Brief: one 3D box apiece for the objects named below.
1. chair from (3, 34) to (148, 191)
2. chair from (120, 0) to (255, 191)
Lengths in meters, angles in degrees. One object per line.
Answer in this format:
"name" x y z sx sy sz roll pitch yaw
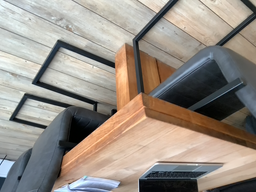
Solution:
"chair" -0.310 0.210 1.310 0.580 0.880 0.510 21 138 -33
"chair" 0.370 -0.060 1.010 0.520 0.880 0.580 21 138 -34
